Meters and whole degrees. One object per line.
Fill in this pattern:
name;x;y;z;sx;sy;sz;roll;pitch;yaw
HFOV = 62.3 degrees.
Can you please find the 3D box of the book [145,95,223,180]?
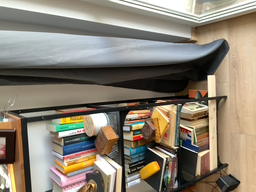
book;0.410;0.260;1.580;0.410;0.370;0.500;1;95;52
